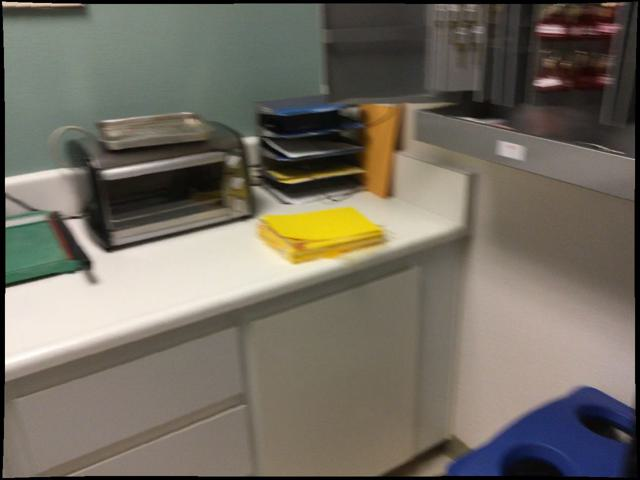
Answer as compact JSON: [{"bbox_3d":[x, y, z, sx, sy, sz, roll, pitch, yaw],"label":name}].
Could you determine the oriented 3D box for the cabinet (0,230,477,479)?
[{"bbox_3d":[-0.360,0.601,1.450,1.929,0.871,0.100,-15,27,-30],"label":"cabinet"}]

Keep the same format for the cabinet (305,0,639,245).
[{"bbox_3d":[0.430,-0.541,1.160,0.460,0.781,1.010,-15,27,-30],"label":"cabinet"}]

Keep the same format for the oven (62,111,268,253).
[{"bbox_3d":[-0.460,-0.200,1.740,0.480,0.270,0.360,-15,27,-30],"label":"oven"}]

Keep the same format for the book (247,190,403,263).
[{"bbox_3d":[0.010,-0.050,1.650,0.340,0.050,0.290,-15,27,-30],"label":"book"}]
